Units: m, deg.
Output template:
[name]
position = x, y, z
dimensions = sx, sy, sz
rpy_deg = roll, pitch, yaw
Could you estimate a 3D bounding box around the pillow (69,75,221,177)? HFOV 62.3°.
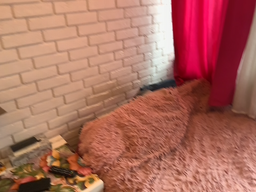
[pillow]
position = 0.140, 0.120, 1.530
dimensions = 0.950, 0.180, 0.530
rpy_deg = -20, 32, -32
